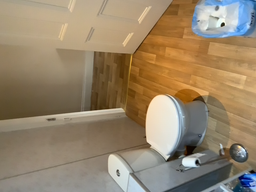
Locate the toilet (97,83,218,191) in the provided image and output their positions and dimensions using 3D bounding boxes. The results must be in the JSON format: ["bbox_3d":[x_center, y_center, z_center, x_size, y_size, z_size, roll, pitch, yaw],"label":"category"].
[{"bbox_3d":[0.240,0.280,1.730,0.360,0.840,0.680,30,118,50],"label":"toilet"}]

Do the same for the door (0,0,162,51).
[{"bbox_3d":[-0.620,-0.700,1.760,0.740,1.800,0.120,-44,58,48],"label":"door"}]

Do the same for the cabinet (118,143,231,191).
[{"bbox_3d":[0.370,0.590,1.550,0.240,0.870,0.240,30,118,50],"label":"cabinet"}]
